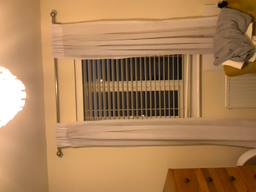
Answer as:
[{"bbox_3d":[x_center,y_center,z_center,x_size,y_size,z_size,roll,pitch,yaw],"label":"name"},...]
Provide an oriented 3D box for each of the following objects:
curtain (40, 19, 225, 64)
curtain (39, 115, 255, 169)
[{"bbox_3d":[0.050,-0.490,1.940,0.180,1.600,0.330,-103,12,-85],"label":"curtain"},{"bbox_3d":[0.410,0.390,1.900,0.270,2.270,0.330,-101,10,-83],"label":"curtain"}]
